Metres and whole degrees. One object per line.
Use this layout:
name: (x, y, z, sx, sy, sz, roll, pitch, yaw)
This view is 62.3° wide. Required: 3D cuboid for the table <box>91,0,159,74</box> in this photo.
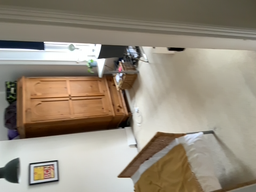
table: (-0.110, -0.920, 3.440, 1.000, 0.750, 0.630, 115, 146, -51)
